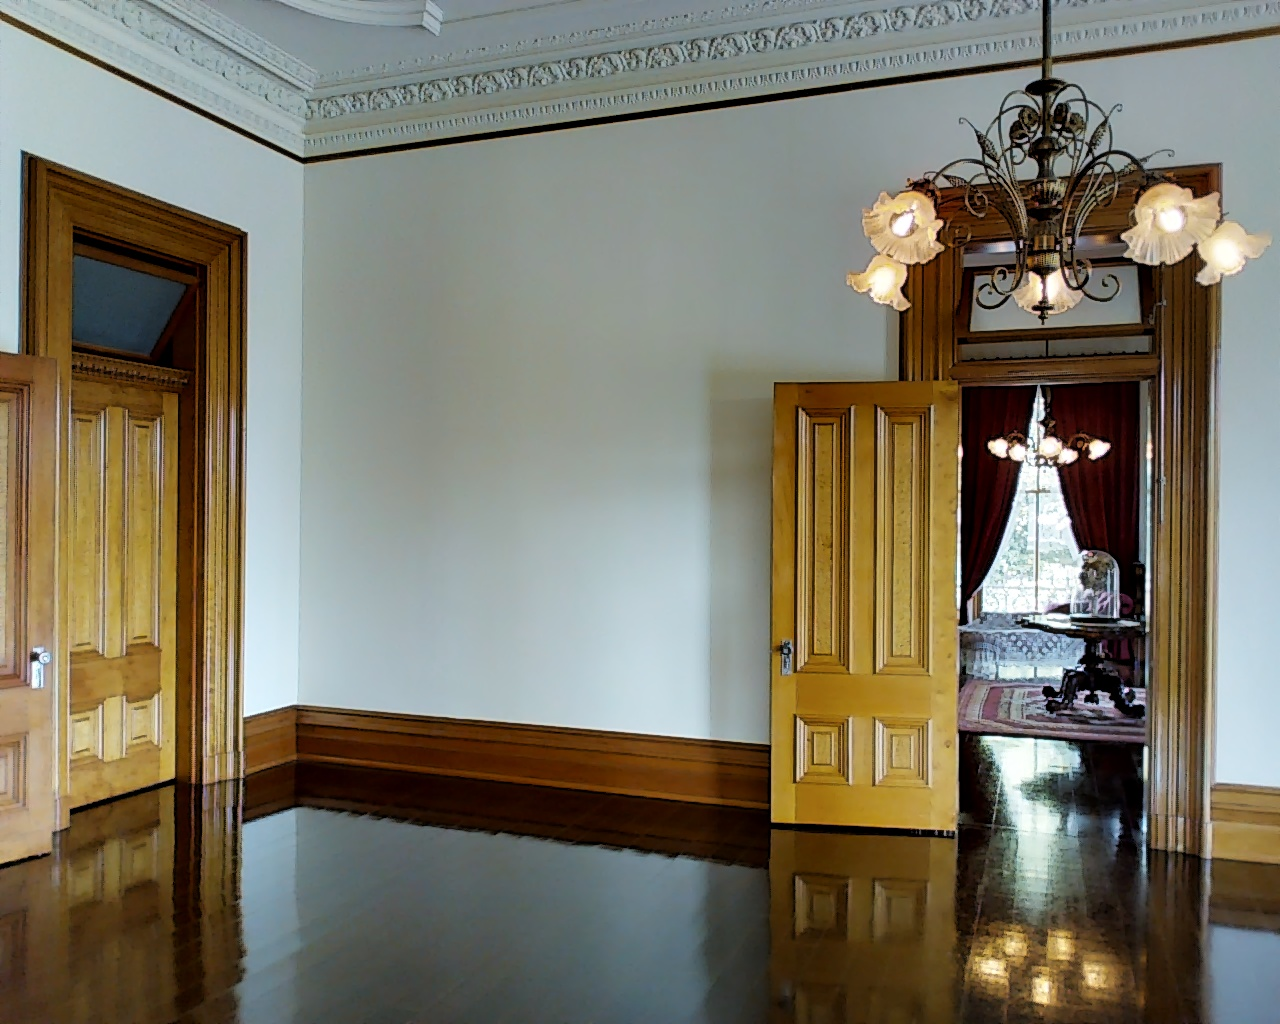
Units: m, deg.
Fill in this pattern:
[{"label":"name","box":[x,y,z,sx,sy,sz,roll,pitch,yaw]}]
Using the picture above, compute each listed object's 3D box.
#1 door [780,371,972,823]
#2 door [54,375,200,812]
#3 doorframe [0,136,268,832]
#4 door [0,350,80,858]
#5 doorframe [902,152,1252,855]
[{"label":"door","box":[1.180,0.420,5.420,0.940,2.230,0.060,0,0,10]},{"label":"door","box":[-2.760,0.410,5.840,0.100,2.200,0.880,0,0,22]},{"label":"doorframe","box":[-2.660,-0.130,5.810,0.310,3.270,1.510,0,0,22]},{"label":"door","box":[-2.850,0.400,4.610,0.050,2.210,0.890,0,0,32]},{"label":"doorframe","box":[2.130,-0.040,5.360,1.550,3.180,0.450,0,0,22]}]
